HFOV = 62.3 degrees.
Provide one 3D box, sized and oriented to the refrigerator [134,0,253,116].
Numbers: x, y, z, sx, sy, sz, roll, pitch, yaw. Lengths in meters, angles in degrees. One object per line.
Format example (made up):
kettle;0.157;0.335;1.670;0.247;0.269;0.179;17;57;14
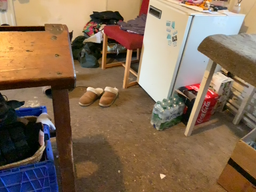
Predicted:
refrigerator;0.510;-0.360;1.870;0.660;0.820;0.480;-11;38;-26

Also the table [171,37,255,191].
table;0.870;0.210;1.190;0.610;0.740;1.000;-11;38;-26
